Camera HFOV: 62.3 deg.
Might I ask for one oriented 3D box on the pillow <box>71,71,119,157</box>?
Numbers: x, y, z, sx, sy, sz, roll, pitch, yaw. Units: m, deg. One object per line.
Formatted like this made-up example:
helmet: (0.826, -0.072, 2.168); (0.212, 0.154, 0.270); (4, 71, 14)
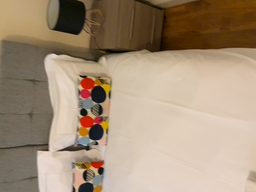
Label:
pillow: (-0.260, 0.130, 1.640); (0.170, 0.280, 0.620); (-162, 77, -67)

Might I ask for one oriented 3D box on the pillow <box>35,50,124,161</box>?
pillow: (-0.390, 0.090, 1.730); (0.210, 0.600, 0.820); (-156, 72, -73)
